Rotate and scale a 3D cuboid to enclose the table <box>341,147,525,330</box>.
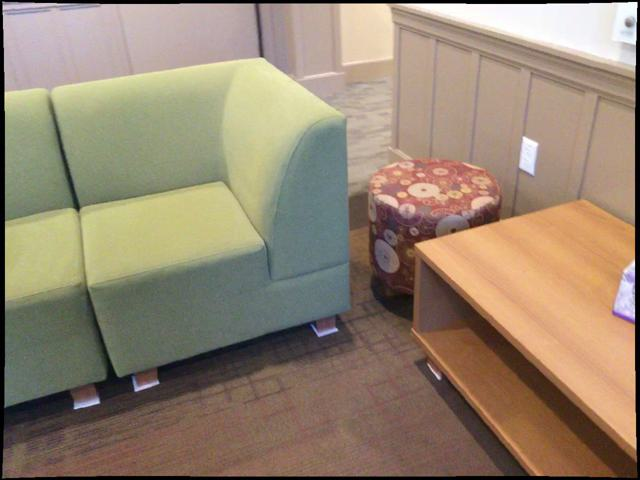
[{"bbox_3d":[0.379,-0.030,2.080,0.439,0.391,0.470,-15,34,-17],"label":"table"}]

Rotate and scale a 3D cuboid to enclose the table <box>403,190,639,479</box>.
[{"bbox_3d":[0.758,0.371,1.420,0.629,0.451,1.110,-15,34,-17],"label":"table"}]
